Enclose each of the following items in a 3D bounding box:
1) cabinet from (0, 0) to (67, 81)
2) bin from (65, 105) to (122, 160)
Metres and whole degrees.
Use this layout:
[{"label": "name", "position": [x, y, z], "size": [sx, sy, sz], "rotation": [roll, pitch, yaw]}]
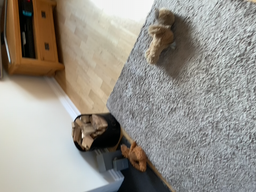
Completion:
[{"label": "cabinet", "position": [-1.190, -0.750, 2.630], "size": [0.370, 0.590, 1.030], "rotation": [-24, 73, 43]}, {"label": "bin", "position": [-0.320, 0.310, 1.910], "size": [0.310, 0.300, 0.340], "rotation": [48, 121, 35]}]
